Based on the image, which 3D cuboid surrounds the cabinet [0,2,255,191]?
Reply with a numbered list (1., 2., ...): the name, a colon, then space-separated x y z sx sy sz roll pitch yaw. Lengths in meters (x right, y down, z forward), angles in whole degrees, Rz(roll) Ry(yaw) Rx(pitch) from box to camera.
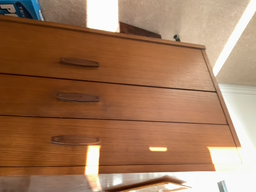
1. cabinet: -0.170 0.080 0.680 0.860 0.460 0.460 3 147 -15
